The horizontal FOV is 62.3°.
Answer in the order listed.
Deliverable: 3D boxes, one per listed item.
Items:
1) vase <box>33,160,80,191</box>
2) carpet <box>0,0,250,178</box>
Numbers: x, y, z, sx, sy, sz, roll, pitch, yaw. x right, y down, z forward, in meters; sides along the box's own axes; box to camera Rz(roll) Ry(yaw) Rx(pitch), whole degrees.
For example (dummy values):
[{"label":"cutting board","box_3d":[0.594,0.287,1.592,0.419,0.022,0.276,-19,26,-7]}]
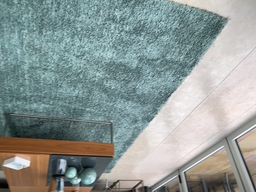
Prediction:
[{"label":"vase","box_3d":[-0.590,0.810,1.770,0.330,0.440,0.320,3,143,-13]},{"label":"carpet","box_3d":[-0.690,0.210,1.760,1.820,0.180,2.570,7,142,-18]}]
